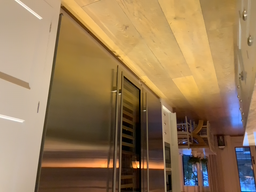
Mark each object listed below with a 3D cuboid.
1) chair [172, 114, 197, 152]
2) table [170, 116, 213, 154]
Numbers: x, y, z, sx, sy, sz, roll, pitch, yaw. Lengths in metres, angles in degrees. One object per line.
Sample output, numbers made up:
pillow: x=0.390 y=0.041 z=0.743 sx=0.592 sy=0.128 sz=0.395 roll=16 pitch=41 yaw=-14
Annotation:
chair: x=1.450 y=0.970 z=5.440 sx=0.500 sy=0.880 sz=0.480 roll=-7 pitch=160 yaw=22
table: x=2.030 y=1.290 z=6.510 sx=0.970 sy=0.790 sz=2.350 roll=-7 pitch=160 yaw=21
